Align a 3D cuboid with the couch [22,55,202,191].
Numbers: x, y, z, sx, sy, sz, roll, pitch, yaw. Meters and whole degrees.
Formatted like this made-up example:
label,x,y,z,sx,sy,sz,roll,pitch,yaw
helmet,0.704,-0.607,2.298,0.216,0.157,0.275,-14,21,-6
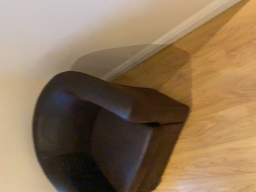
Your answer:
label,x,y,z,sx,sy,sz,roll,pitch,yaw
couch,-0.140,0.260,1.490,0.750,0.790,0.790,32,110,40
